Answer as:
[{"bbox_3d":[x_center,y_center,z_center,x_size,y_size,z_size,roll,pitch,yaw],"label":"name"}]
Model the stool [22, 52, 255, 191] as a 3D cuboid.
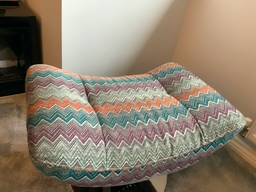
[{"bbox_3d":[-0.010,0.130,0.820,0.680,0.420,0.460,-4,36,-24],"label":"stool"}]
